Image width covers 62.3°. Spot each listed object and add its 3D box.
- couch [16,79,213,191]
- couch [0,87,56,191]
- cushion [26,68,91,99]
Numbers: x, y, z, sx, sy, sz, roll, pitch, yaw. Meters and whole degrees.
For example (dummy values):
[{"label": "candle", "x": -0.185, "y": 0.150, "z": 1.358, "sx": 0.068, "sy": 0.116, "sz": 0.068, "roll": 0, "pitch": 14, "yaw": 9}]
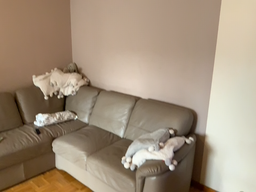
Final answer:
[{"label": "couch", "x": -0.360, "y": 0.420, "z": 2.590, "sx": 2.340, "sy": 0.860, "sz": 0.910, "roll": 14, "pitch": 19, "yaw": 39}, {"label": "couch", "x": -1.480, "y": 0.440, "z": 2.400, "sx": 0.920, "sy": 0.830, "sz": 0.870, "roll": 14, "pitch": 19, "yaw": 39}, {"label": "cushion", "x": -1.010, "y": -0.210, "z": 3.140, "sx": 0.790, "sy": 0.310, "sz": 0.450, "roll": -12, "pitch": 20, "yaw": -43}]
